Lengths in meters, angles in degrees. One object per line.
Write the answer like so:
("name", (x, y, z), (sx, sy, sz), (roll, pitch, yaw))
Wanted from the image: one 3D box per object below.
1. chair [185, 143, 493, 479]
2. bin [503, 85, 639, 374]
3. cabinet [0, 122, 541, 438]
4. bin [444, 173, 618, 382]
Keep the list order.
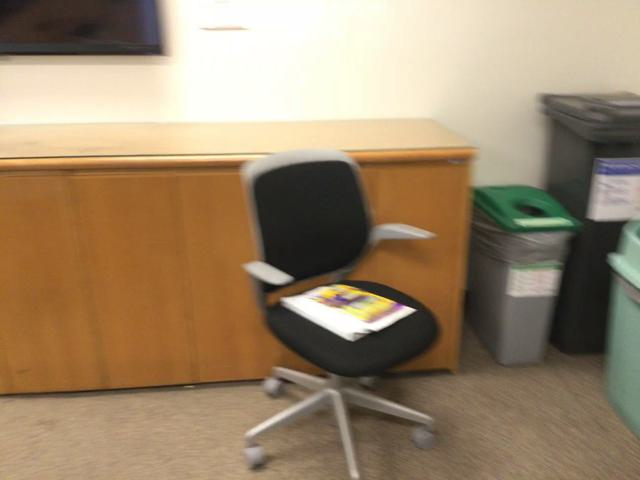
("chair", (0.040, 0.240, 1.830), (0.630, 0.950, 0.650), (-13, 22, -33))
("bin", (1.170, -0.070, 2.350), (0.520, 1.040, 0.560), (-1, 18, -6))
("cabinet", (-1.470, 0.100, 2.100), (4.270, 0.960, 0.730), (-1, 18, -6))
("bin", (0.830, 0.120, 2.430), (0.370, 0.680, 0.630), (-1, 18, -6))
